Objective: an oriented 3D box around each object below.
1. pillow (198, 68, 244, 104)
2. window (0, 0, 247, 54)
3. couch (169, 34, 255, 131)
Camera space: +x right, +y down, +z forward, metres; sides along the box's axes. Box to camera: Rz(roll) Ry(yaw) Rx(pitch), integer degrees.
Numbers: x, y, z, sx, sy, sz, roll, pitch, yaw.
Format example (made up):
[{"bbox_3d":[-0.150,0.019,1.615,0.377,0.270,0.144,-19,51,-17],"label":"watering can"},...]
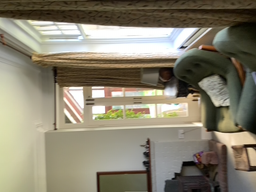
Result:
[{"bbox_3d":[0.990,-0.090,2.320,0.520,0.240,0.330,135,135,-85],"label":"pillow"},{"bbox_3d":[-0.270,-0.920,1.990,1.760,2.190,0.570,146,122,-86],"label":"window"},{"bbox_3d":[1.000,-0.080,2.330,0.850,0.830,0.840,104,163,-78],"label":"couch"}]
